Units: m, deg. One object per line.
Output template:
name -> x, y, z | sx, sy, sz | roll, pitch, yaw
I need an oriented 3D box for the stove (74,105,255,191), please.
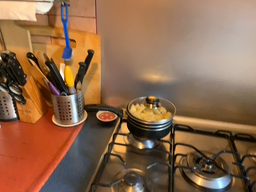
stove -> 0.250, 0.230, 0.680 | 0.720, 0.050, 0.560 | 8, 27, 8
